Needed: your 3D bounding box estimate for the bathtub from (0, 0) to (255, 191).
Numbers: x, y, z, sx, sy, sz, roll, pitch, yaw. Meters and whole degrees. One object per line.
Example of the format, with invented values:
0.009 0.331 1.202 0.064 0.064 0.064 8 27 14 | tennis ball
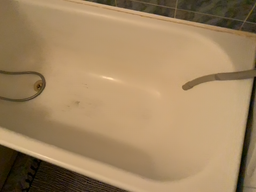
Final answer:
-0.210 0.000 1.110 1.350 0.590 0.690 16 73 11 | bathtub
